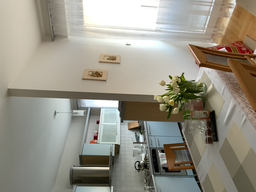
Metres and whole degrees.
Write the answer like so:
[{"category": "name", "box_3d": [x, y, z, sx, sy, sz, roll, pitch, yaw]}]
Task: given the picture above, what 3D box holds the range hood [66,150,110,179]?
[{"category": "range hood", "box_3d": [-0.760, 1.350, 4.160, 0.340, 0.780, 0.430, -93, 7, -50]}]
